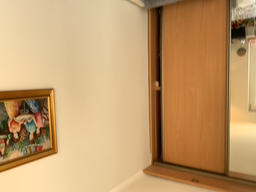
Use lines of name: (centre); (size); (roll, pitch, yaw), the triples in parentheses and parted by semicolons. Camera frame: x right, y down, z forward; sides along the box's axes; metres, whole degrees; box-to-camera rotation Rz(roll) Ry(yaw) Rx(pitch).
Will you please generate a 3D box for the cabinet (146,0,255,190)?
cabinet: (1.050, -0.490, 2.150); (1.600, 2.550, 0.660); (2, -175, 33)
